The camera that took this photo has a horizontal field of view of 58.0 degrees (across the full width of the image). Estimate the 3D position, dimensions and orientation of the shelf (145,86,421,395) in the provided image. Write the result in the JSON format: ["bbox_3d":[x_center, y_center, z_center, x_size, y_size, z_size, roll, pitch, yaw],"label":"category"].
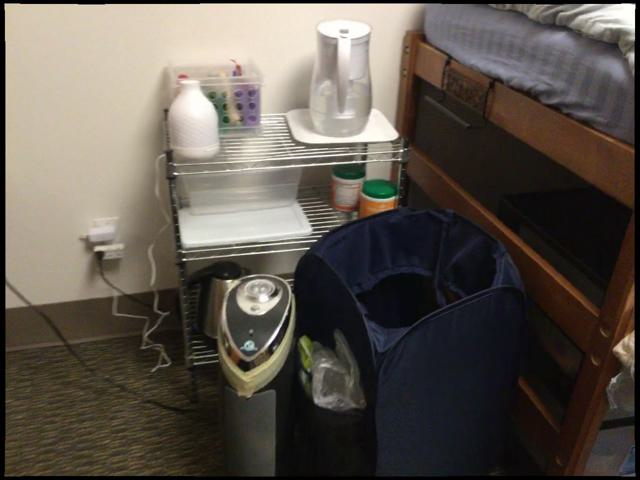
[{"bbox_3d":[-0.120,-0.020,1.670,0.629,0.701,0.410,-9,32,-16],"label":"shelf"}]
